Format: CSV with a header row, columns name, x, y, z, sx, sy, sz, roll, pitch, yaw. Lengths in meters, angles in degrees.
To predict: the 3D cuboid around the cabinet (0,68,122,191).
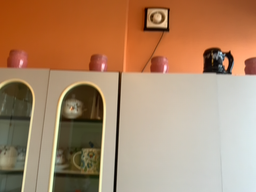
name,x,y,z,sx,sy,sz,roll,pitch,yaw
cabinet,-0.350,0.250,0.980,0.600,0.670,0.310,2,-13,1
